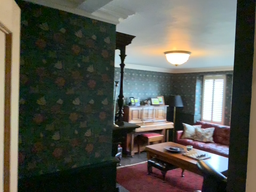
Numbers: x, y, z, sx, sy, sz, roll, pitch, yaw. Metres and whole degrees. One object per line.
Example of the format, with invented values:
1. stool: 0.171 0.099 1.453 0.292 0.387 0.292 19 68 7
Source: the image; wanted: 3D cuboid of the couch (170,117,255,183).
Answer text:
1. couch: 2.130 1.080 4.820 0.900 0.880 2.230 0 3 -37
